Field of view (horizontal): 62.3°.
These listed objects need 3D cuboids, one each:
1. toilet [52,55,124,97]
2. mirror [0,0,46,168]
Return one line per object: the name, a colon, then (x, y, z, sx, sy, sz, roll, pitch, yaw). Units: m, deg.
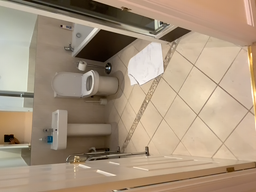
toilet: (-0.590, -0.250, 3.120, 0.650, 0.860, 0.390, -13, 74, 58)
mirror: (-1.720, -0.260, 2.940, 0.090, 0.950, 2.420, -11, 76, 59)
